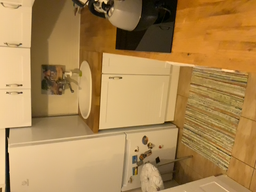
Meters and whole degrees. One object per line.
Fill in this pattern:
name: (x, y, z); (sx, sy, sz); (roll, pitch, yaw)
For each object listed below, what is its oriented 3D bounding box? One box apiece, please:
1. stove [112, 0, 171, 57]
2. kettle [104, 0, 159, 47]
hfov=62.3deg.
stove: (0.050, -0.510, 1.120); (0.560, 0.020, 0.560); (27, 115, 59)
kettle: (0.010, -0.430, 1.180); (0.240, 0.200, 0.280); (28, 116, 59)
